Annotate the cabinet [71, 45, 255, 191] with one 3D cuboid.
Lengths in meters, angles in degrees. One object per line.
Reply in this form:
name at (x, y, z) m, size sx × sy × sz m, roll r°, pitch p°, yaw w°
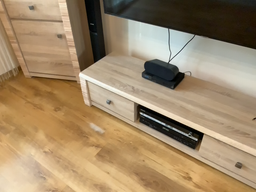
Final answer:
cabinet at (0.360, 0.090, 1.550) m, size 1.520 × 0.330 × 0.590 m, roll 24°, pitch 46°, yaw 27°
